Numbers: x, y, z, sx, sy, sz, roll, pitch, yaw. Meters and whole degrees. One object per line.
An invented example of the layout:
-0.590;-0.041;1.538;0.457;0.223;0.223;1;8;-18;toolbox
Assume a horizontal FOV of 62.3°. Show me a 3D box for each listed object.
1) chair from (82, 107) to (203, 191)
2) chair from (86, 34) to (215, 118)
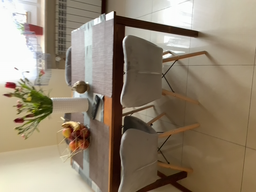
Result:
0.100;0.370;1.600;0.480;0.730;0.440;19;107;55;chair
0.150;-0.150;1.500;0.470;0.730;0.440;19;107;55;chair
